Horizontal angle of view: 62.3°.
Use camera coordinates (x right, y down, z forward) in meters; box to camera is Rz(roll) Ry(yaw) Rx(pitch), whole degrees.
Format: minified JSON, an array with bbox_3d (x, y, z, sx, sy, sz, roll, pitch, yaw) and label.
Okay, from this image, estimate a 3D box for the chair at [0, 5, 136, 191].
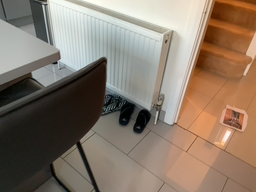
[{"bbox_3d":[-0.330,0.300,0.730,0.460,1.000,0.410,29,44,27],"label":"chair"}]
